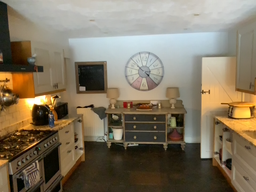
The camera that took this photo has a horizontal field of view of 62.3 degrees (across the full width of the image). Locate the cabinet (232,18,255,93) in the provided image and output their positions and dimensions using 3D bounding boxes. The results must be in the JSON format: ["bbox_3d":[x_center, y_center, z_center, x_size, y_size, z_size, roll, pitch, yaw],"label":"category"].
[{"bbox_3d":[1.770,-0.540,2.970,0.330,0.940,0.650,0,7,6],"label":"cabinet"}]

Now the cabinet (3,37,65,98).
[{"bbox_3d":[-1.410,-0.440,3.370,0.380,0.790,1.090,-1,7,4],"label":"cabinet"}]

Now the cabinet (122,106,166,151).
[{"bbox_3d":[0.360,0.690,4.710,0.920,0.860,0.550,-1,7,5],"label":"cabinet"}]
